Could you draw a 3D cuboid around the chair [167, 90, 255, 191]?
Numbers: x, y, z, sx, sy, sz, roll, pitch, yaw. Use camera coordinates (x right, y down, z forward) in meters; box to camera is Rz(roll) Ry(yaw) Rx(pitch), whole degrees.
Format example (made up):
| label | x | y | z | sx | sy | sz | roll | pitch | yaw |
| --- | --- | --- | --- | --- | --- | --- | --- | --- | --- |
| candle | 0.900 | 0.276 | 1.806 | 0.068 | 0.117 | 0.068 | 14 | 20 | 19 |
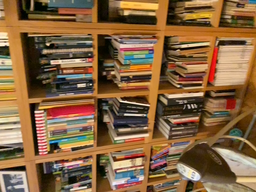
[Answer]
| label | x | y | z | sx | sy | sz | roll | pitch | yaw |
| --- | --- | --- | --- | --- | --- | --- | --- | --- | --- |
| chair | 0.770 | 0.530 | 1.330 | 0.920 | 0.540 | 0.720 | -119 | 30 | -51 |
